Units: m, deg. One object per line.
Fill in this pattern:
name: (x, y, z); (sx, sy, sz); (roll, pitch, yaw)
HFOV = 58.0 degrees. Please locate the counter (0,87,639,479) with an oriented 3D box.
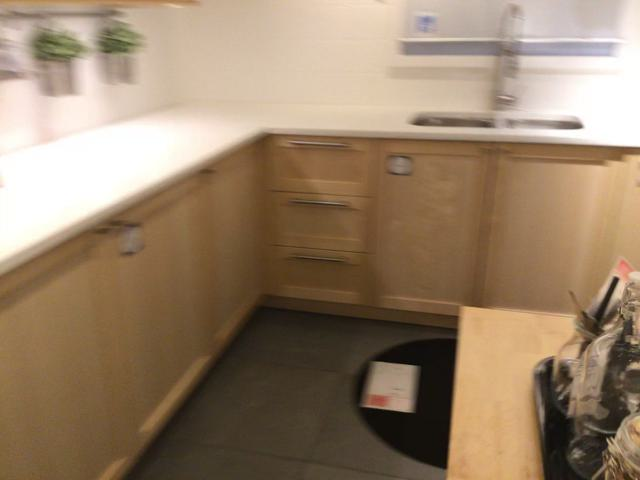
counter: (0.240, 0.040, 0.910); (3.110, 0.220, 3.840); (5, 20, 18)

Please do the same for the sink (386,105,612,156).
sink: (0.740, -0.480, 2.460); (0.840, 0.130, 0.440); (5, 20, 18)

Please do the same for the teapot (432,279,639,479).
teapot: (0.340, 0.220, 0.780); (0.330, 0.210, 0.280); (5, 21, 18)
